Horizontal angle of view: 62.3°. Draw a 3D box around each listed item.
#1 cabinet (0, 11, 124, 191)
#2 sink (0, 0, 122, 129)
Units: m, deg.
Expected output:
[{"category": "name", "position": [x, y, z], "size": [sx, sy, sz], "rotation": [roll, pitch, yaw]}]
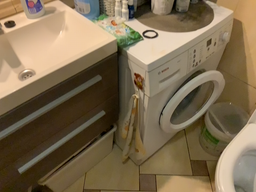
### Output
[{"category": "cabinet", "position": [-0.380, 0.030, 0.950], "size": [0.600, 0.490, 0.420], "rotation": [-36, 58, -28]}, {"category": "sink", "position": [-0.380, -0.150, 0.750], "size": [0.600, 0.120, 0.410], "rotation": [-36, 58, -28]}]
